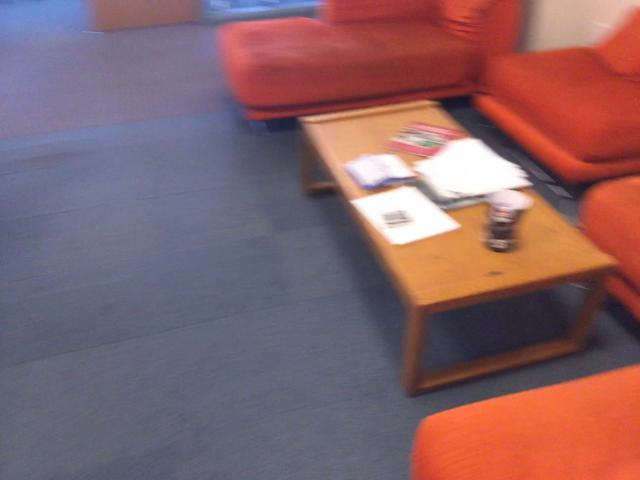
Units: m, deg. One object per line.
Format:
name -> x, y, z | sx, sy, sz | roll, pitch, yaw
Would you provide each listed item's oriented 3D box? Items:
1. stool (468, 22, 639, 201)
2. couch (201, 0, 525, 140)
stool -> 1.240, -0.650, 2.740 | 0.660, 0.410, 0.930 | -10, 38, -11
couch -> 0.170, -1.170, 3.230 | 1.520, 0.670, 0.940 | -10, 38, -11
